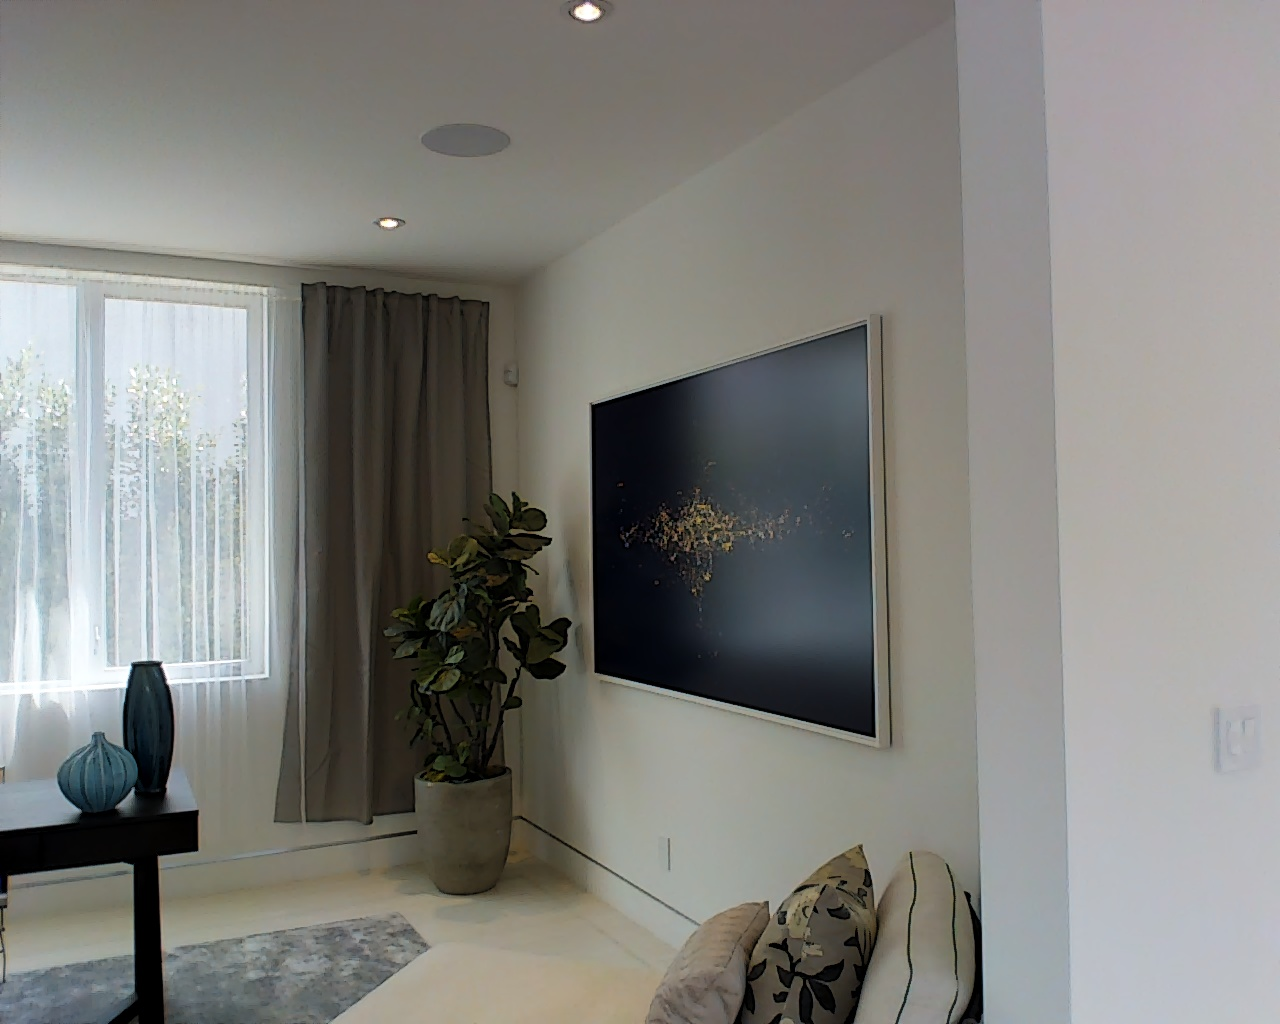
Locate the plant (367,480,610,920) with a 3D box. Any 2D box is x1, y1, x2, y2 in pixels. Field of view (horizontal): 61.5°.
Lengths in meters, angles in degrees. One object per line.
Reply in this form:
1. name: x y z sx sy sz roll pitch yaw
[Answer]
1. plant: -0.720 0.760 4.910 0.810 1.751 0.950 0 -2 -27
